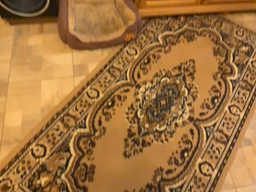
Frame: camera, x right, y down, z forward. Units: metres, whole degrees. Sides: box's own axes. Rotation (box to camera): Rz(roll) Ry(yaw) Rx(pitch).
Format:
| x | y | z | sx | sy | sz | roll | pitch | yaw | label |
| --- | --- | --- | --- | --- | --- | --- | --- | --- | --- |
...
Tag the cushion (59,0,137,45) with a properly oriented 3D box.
| x | y | z | sx | sy | sz | roll | pitch | yaw | label |
| --- | --- | --- | --- | --- | --- | --- | --- | --- | --- |
| -0.240 | -0.670 | 1.580 | 0.500 | 0.180 | 0.540 | -7 | 62 | -9 | cushion |
